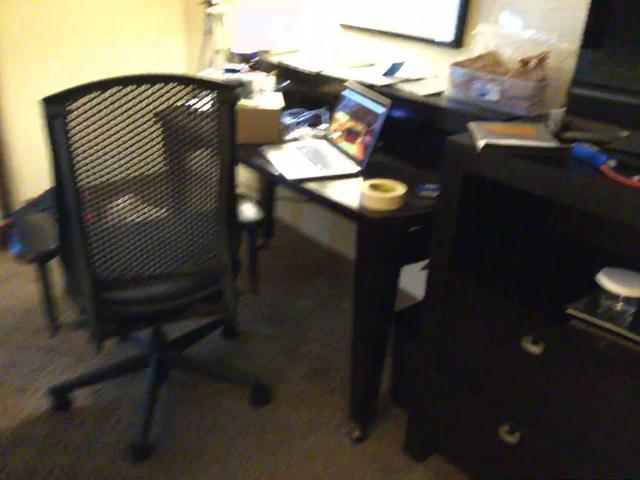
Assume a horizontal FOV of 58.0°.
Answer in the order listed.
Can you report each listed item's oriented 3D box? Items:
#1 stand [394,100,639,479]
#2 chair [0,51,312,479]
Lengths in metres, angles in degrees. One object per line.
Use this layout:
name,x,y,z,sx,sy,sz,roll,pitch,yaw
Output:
stand,0.790,0.290,1.260,0.520,1.040,1.200,-16,24,-36
chair,-0.520,0.030,1.740,0.670,1.070,0.760,-13,26,-31
